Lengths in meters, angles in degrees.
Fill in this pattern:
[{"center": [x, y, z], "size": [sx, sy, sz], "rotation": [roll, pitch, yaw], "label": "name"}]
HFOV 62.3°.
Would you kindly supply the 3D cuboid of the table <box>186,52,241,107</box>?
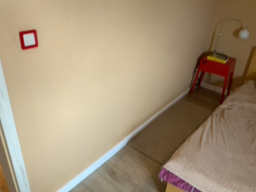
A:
[{"center": [1.200, -0.250, 3.020], "size": [0.510, 0.560, 0.370], "rotation": [25, 35, 32], "label": "table"}]
